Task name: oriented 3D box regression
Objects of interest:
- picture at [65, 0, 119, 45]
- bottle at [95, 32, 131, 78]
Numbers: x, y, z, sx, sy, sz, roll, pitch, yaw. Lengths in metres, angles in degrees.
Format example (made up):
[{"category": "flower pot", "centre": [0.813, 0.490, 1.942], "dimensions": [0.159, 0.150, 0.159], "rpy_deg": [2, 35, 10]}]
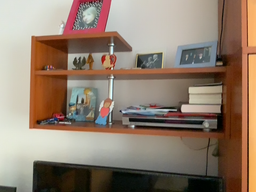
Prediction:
[{"category": "picture", "centre": [-0.200, -0.450, 1.180], "dimensions": [0.270, 0.300, 0.090], "rpy_deg": [1, 10, 18]}, {"category": "bottle", "centre": [-0.080, -0.220, 1.190], "dimensions": [0.140, 0.210, 0.180], "rpy_deg": [1, -2, 17]}]
